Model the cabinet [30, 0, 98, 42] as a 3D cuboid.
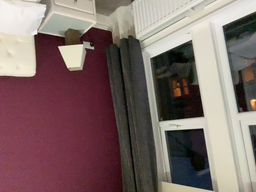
[{"bbox_3d":[-0.680,-0.920,2.200,0.470,0.470,0.540,-1,171,-40],"label":"cabinet"}]
